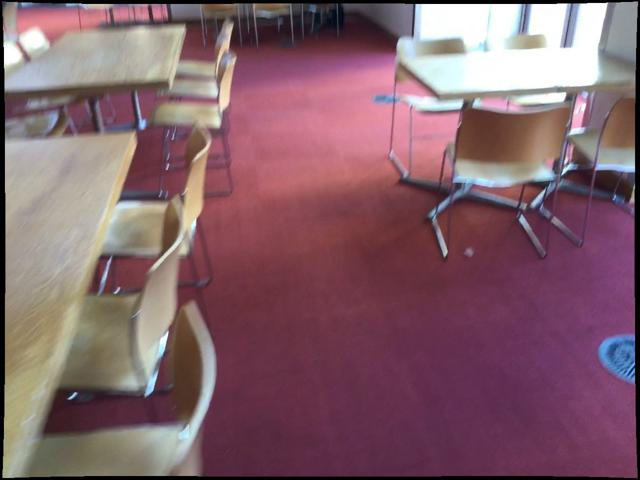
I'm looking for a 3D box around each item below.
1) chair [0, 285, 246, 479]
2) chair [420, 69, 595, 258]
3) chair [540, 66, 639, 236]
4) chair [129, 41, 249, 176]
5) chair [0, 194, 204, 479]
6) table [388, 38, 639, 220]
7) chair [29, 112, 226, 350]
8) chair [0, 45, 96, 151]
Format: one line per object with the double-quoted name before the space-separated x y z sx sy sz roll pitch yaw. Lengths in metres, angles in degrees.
"chair" -0.470 0.541 1.210 0.579 0.691 0.480 -5 31 -5
"chair" 0.829 -0.370 2.730 0.549 0.711 0.500 -5 31 -5
"chair" 1.498 -0.450 2.860 0.509 0.671 0.490 -5 31 -5
"chair" -0.739 -0.791 3.440 0.549 0.630 0.510 -3 30 -2
"chair" -0.629 0.300 1.590 0.509 0.671 0.480 -5 31 -5
"table" 1.109 -0.661 3.260 1.279 0.701 0.790 -5 31 -5
"chair" -0.659 -0.050 2.200 0.519 0.701 0.520 -5 31 -5
"chair" -1.708 -0.801 3.230 0.669 0.400 0.620 -5 31 -5
